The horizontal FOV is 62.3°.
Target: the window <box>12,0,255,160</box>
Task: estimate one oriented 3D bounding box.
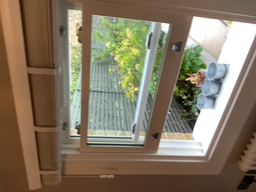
[{"bbox_3d":[0.030,-0.020,1.080,0.080,1.040,0.850,-103,18,-60],"label":"window"}]
